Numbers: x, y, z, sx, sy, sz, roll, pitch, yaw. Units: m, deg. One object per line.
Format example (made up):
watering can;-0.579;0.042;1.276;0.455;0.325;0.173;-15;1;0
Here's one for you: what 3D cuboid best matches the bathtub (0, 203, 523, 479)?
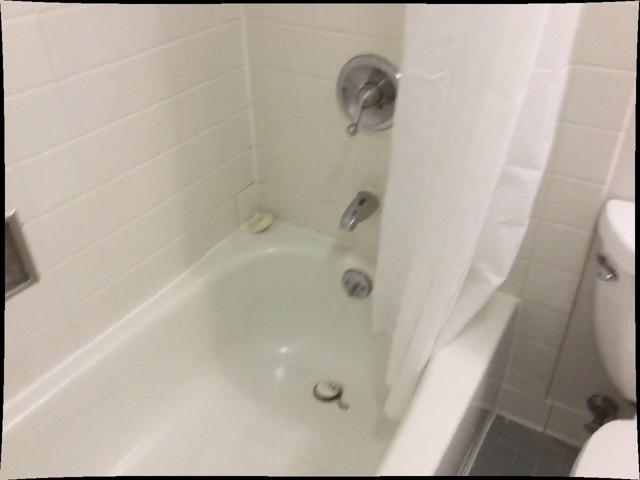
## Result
bathtub;-0.250;0.531;1.070;0.789;0.410;1.480;20;37;24
